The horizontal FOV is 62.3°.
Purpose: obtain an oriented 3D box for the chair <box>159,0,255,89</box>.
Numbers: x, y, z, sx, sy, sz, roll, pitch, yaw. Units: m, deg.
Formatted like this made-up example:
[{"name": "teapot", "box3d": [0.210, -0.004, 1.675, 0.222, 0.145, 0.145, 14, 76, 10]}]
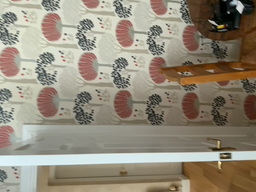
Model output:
[{"name": "chair", "box3d": [0.790, -0.390, 1.340, 0.460, 1.010, 0.580, -115, 29, -67]}]
